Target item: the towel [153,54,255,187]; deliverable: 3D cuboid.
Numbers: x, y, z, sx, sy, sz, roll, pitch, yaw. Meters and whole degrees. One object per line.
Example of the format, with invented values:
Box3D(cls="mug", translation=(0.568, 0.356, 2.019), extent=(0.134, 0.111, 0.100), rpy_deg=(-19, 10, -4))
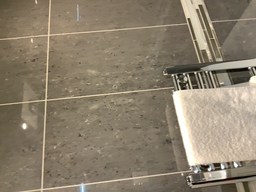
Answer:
Box3D(cls="towel", translation=(0.520, 0.040, 0.680), extent=(0.110, 0.820, 0.360), rpy_deg=(94, 169, -65))
